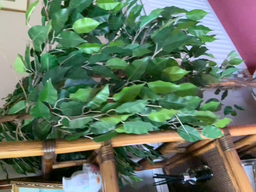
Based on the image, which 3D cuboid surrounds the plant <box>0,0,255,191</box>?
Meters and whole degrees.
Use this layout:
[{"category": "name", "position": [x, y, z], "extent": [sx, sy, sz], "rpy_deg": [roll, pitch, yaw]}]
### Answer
[{"category": "plant", "position": [0.260, -0.070, 0.910], "extent": [0.620, 1.740, 0.640], "rpy_deg": [119, 144, -51]}]
